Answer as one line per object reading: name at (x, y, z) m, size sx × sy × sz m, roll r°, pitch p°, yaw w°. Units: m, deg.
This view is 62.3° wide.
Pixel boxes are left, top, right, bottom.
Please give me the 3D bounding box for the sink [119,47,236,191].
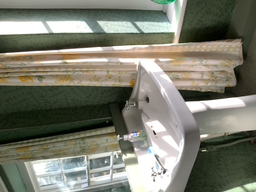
sink at (0.160, 0.100, 1.120) m, size 0.700 × 0.240 × 0.460 m, roll -114°, pitch 23°, yaw -51°
